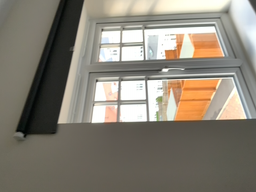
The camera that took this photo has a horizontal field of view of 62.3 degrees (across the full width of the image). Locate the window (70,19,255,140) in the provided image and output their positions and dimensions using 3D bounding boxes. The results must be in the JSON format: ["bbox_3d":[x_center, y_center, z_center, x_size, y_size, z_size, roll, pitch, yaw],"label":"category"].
[{"bbox_3d":[0.270,-0.200,1.550,0.070,1.210,1.070,85,-176,-53],"label":"window"}]
